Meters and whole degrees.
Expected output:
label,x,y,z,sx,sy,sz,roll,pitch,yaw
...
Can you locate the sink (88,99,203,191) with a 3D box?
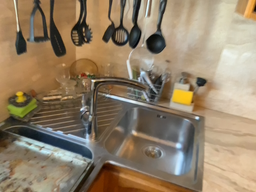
label,x,y,z,sx,sy,sz,roll,pitch,yaw
sink,0.100,0.280,1.000,0.410,0.290,0.440,14,28,12
